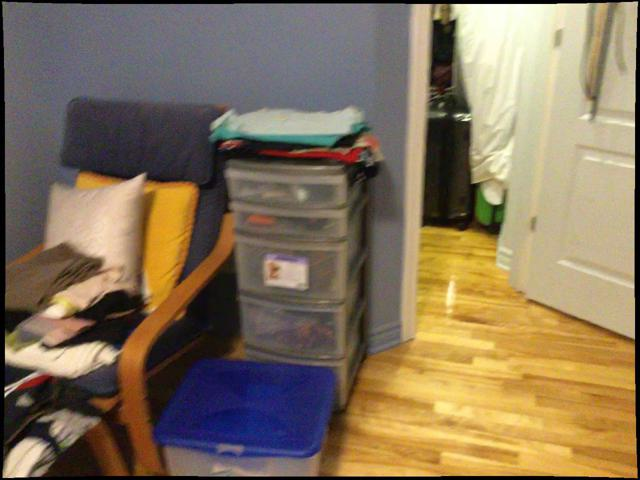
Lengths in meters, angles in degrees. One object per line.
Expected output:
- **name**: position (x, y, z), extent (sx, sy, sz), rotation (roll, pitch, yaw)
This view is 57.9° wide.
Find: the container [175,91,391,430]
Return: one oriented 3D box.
- **container**: position (-0.060, 0.050, 1.870), extent (0.490, 0.951, 0.440), rotation (6, 28, 19)
